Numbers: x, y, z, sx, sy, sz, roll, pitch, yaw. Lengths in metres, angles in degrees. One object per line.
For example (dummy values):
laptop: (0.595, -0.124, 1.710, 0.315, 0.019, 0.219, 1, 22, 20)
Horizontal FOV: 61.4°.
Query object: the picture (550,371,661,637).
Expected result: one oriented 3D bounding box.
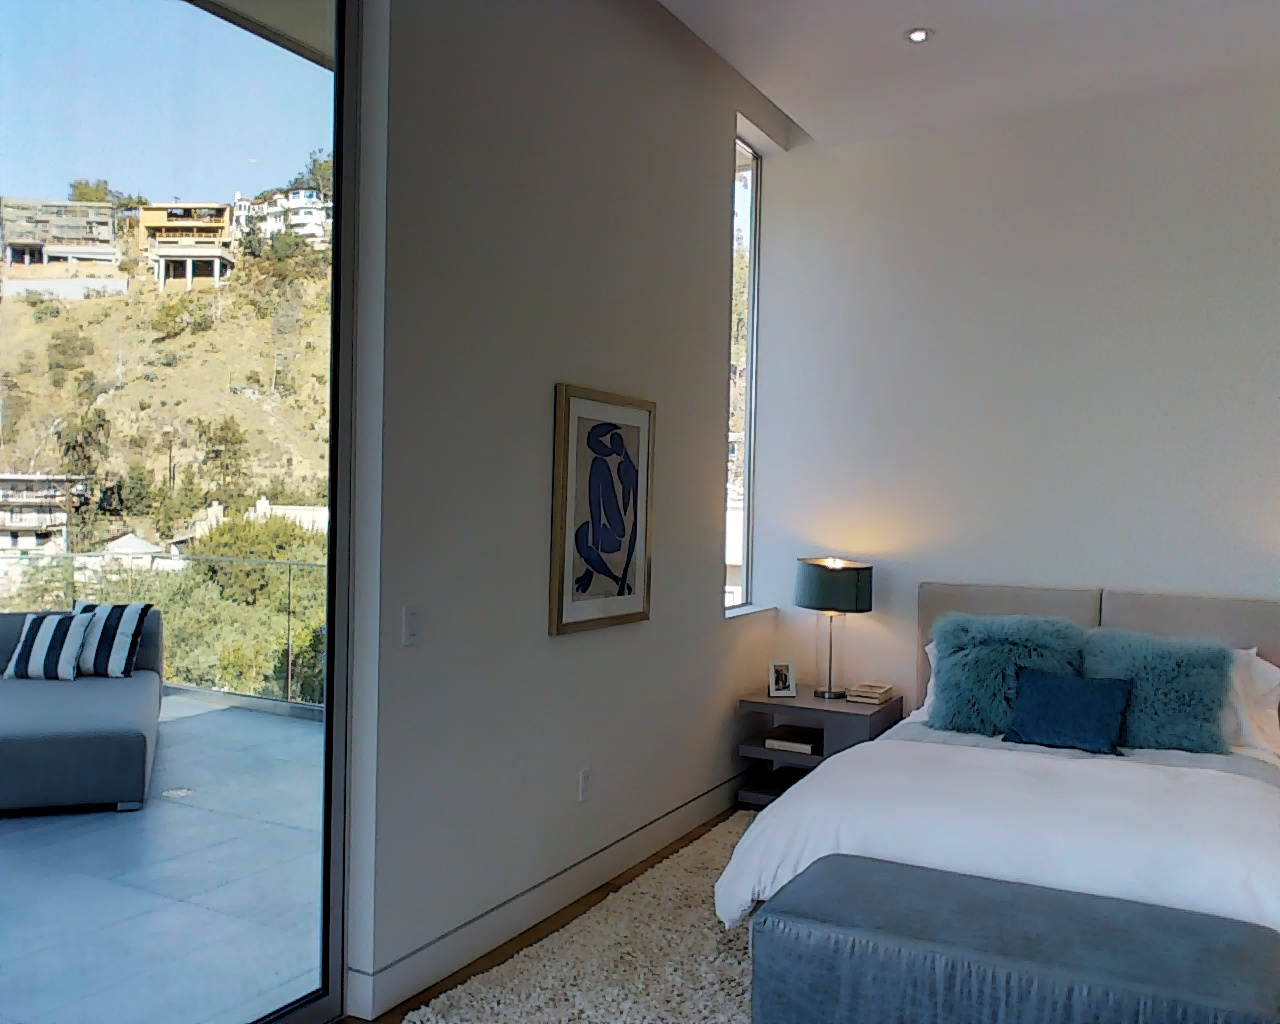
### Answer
picture: (-0.120, -0.030, 4.220, 0.060, 0.960, 0.710, 1, 1, 29)
